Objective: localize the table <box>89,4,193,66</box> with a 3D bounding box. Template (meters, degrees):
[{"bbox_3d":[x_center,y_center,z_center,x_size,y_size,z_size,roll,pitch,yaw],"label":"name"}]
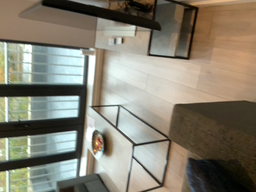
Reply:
[{"bbox_3d":[0.040,-0.570,2.020,1.010,0.440,0.400,27,113,55],"label":"table"}]

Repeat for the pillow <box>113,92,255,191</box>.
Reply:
[{"bbox_3d":[0.360,0.440,0.750,0.760,0.500,0.250,53,160,22],"label":"pillow"}]

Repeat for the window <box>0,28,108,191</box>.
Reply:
[{"bbox_3d":[-1.560,0.600,3.090,0.190,2.170,2.940,27,109,54],"label":"window"}]

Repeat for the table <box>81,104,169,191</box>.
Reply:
[{"bbox_3d":[-0.110,0.520,2.330,1.060,0.440,0.540,29,115,55],"label":"table"}]
